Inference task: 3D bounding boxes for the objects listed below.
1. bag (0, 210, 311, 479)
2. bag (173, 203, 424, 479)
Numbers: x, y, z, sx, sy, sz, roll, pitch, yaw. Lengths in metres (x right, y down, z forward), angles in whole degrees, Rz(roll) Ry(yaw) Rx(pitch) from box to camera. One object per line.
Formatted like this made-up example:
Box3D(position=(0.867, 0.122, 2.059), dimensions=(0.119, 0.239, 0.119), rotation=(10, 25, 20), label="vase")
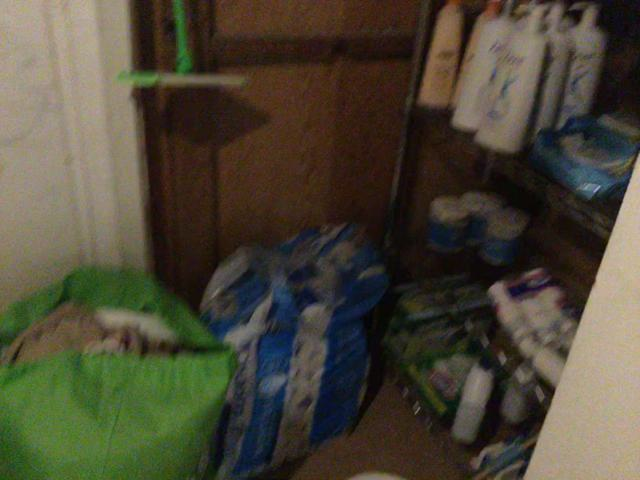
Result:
Box3D(position=(-0.410, 0.420, 1.210), dimensions=(0.500, 0.710, 0.610), rotation=(-9, 34, -26), label="bag")
Box3D(position=(-0.090, 0.280, 1.590), dimensions=(0.530, 0.620, 0.340), rotation=(-9, 34, -26), label="bag")
